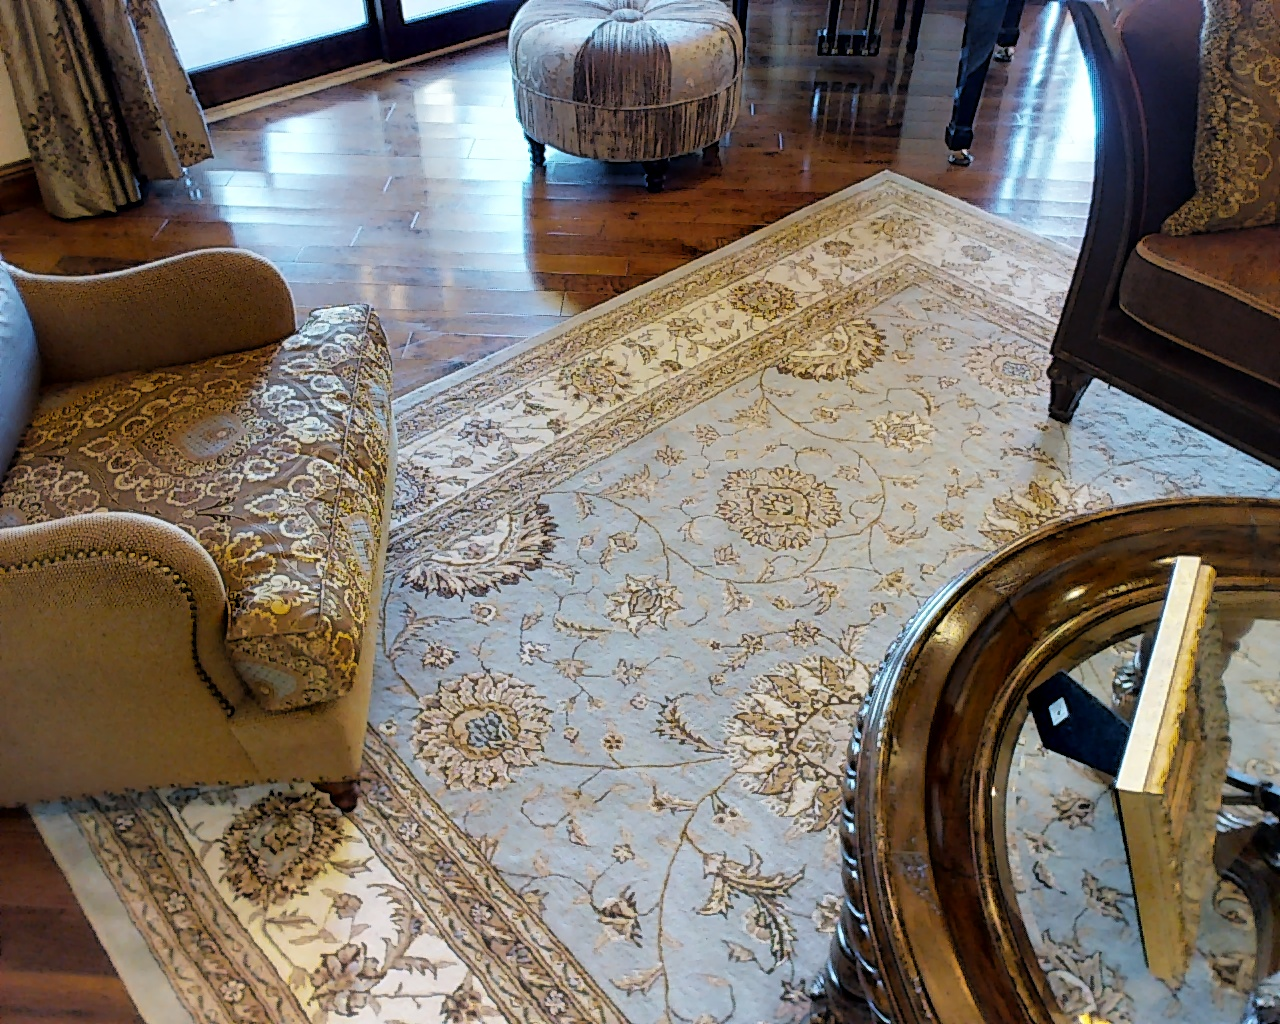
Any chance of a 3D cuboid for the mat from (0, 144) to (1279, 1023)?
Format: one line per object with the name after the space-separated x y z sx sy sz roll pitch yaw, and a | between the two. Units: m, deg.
1.120 0.560 1.650 2.930 0.150 4.090 -31 51 -29 | mat
